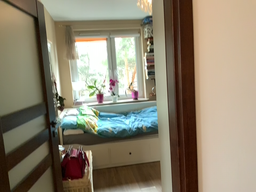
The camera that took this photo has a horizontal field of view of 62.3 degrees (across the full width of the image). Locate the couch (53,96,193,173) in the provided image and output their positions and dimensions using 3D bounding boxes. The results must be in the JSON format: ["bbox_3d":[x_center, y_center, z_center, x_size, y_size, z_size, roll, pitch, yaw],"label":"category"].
[{"bbox_3d":[-0.090,0.560,3.750,2.130,0.850,1.020,-5,7,-10],"label":"couch"}]

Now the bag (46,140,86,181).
[{"bbox_3d":[-0.630,0.660,2.230,0.350,0.250,0.360,-5,7,-9],"label":"bag"}]

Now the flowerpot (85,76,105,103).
[{"bbox_3d":[-0.680,-0.150,4.340,0.360,0.500,0.330,-5,7,-10],"label":"flowerpot"}]
